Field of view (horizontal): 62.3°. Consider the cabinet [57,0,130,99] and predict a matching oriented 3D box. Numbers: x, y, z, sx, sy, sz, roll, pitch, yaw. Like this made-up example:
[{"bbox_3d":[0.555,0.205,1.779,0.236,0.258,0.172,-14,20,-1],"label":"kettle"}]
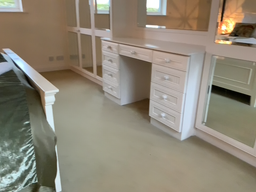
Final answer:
[{"bbox_3d":[-0.620,-1.370,3.130,0.200,2.360,1.930,-13,25,-34],"label":"cabinet"}]
